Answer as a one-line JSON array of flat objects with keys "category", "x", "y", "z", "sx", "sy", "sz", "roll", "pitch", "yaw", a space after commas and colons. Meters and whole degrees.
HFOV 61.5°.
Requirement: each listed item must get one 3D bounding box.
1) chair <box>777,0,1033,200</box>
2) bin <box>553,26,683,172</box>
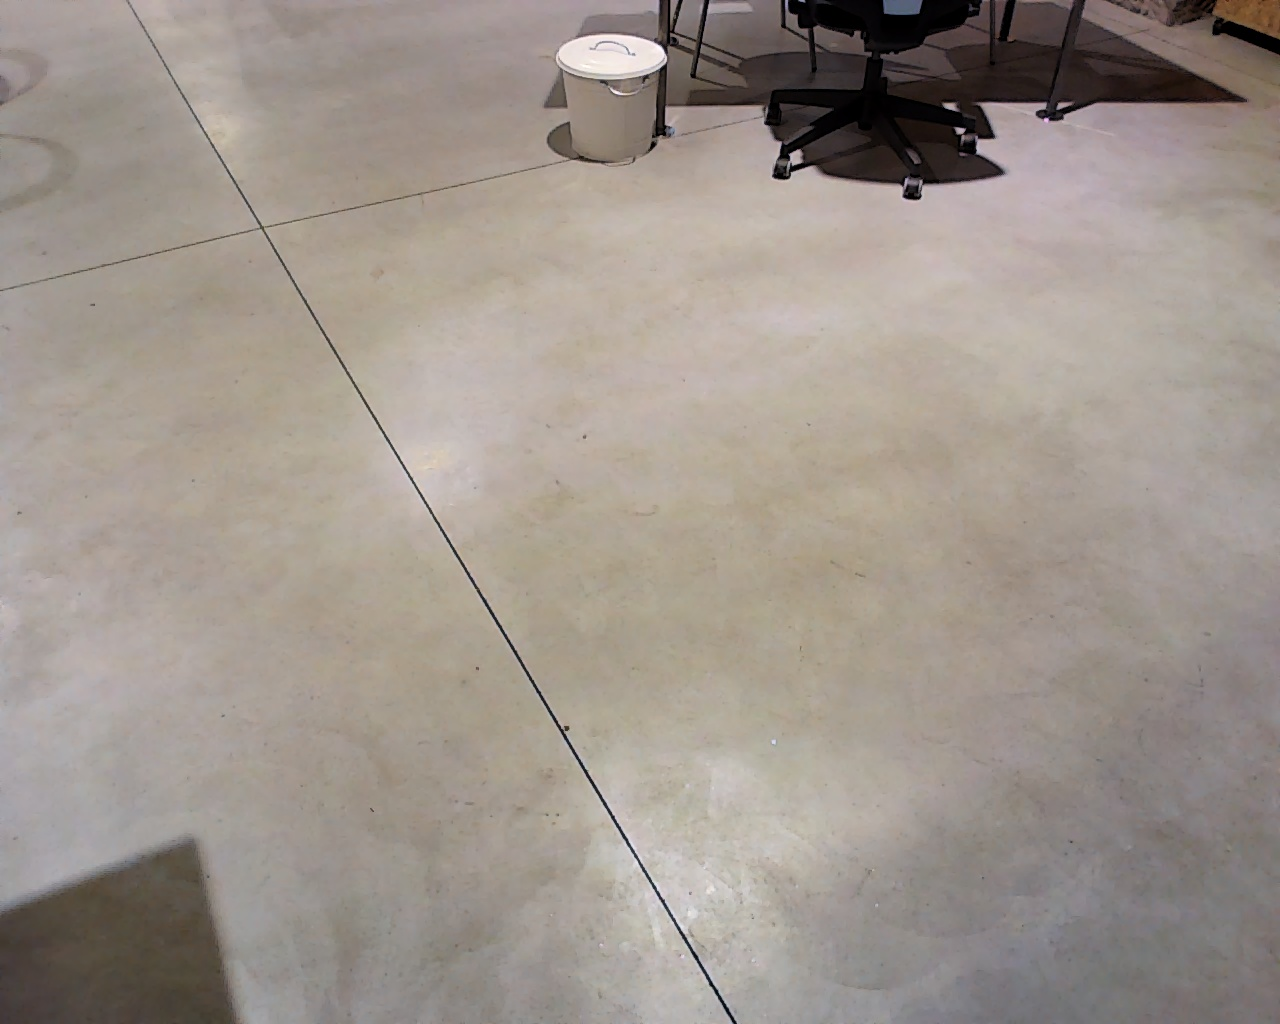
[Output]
[{"category": "chair", "x": 0.760, "y": -1.531, "z": 3.160, "sx": 0.620, "sy": 0.940, "sz": 0.690, "roll": 4, "pitch": 43, "yaw": 5}, {"category": "bin", "x": -0.060, "y": -1.301, "z": 3.380, "sx": 0.360, "sy": 0.310, "sz": 0.340, "roll": 4, "pitch": 43, "yaw": 4}]
